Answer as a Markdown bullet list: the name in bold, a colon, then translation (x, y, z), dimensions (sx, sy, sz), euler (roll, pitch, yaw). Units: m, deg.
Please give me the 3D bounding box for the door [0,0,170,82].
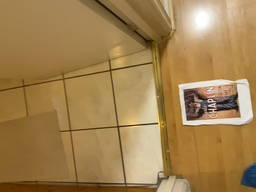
- **door**: translation (-0.480, -0.140, 0.230), dimensions (0.790, 1.910, 0.030), euler (-13, 88, 19)
